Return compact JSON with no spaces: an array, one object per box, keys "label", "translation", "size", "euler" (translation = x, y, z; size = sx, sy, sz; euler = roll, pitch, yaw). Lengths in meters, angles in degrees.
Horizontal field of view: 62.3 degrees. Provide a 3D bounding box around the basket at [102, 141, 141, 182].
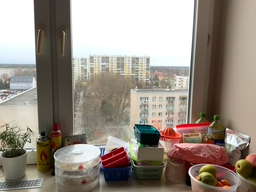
[{"label":"basket","translation":[-0.040,0.320,1.070],"size":[0.160,0.110,0.210],"euler":[0,9,-12]}]
